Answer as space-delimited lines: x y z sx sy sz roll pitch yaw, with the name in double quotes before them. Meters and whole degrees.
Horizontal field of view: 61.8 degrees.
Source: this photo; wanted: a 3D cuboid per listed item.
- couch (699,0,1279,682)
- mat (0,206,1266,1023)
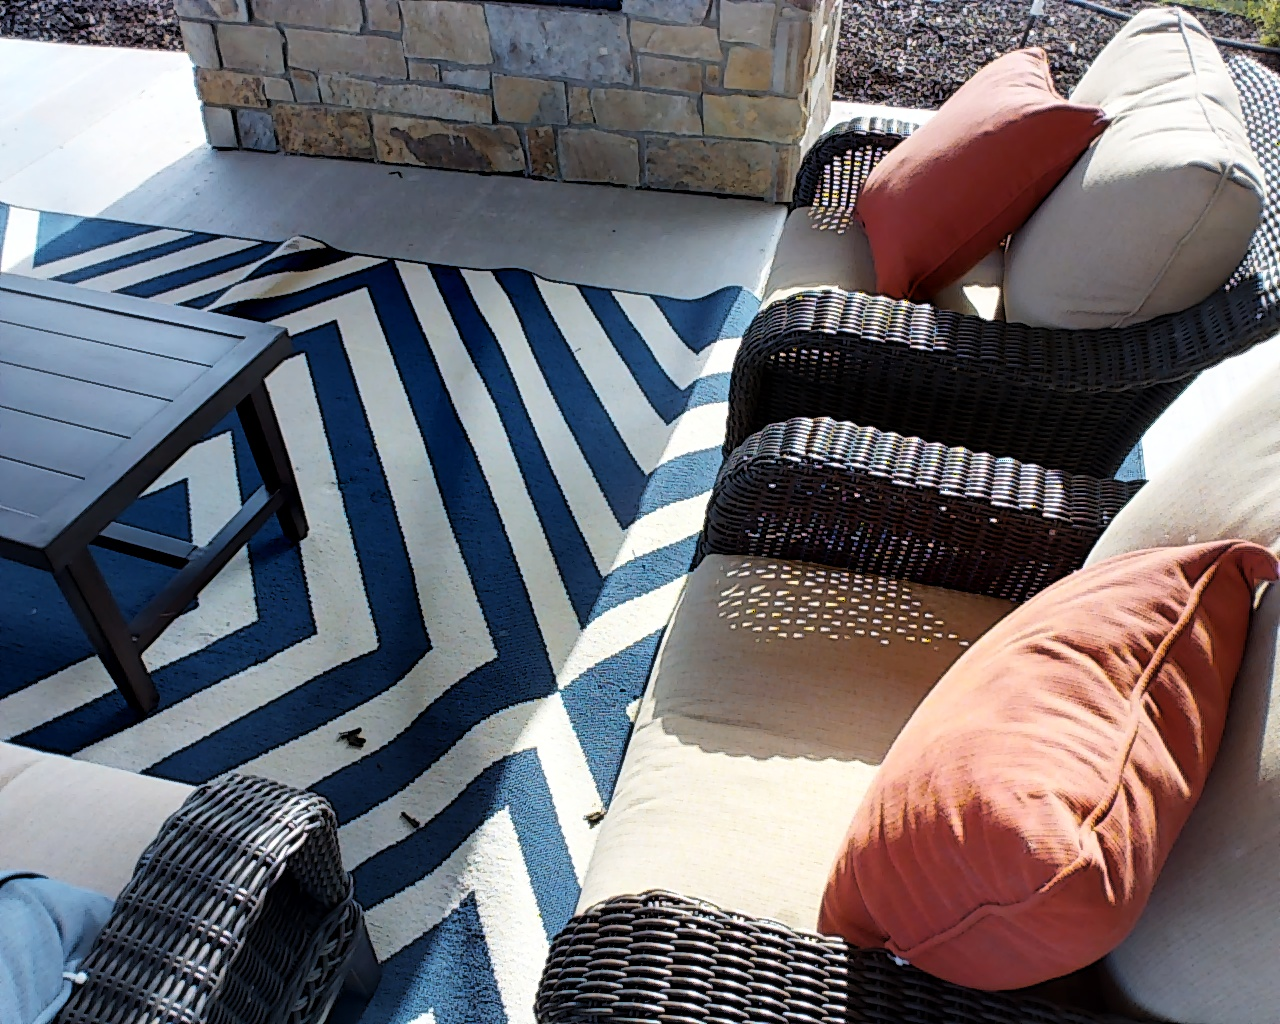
"couch" 0.600 -0.350 1.850 0.830 0.850 0.770 9 42 11
"mat" -0.600 0.230 1.880 3.020 0.080 2.630 10 42 11
